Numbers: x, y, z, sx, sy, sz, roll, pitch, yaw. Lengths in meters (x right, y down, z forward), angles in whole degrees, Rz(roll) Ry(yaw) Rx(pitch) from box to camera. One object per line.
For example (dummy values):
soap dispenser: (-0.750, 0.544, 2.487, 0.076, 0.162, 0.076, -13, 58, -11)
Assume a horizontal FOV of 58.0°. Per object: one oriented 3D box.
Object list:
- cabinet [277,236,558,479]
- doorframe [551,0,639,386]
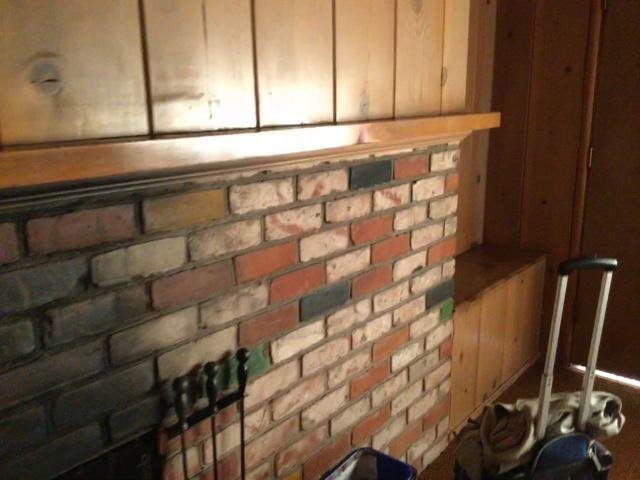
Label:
cabinet: (0.510, 0.460, 2.410, 0.360, 0.620, 1.470, 9, 19, 43)
doorframe: (1.510, -0.360, 2.190, 1.170, 2.100, 0.090, 9, 19, 43)
